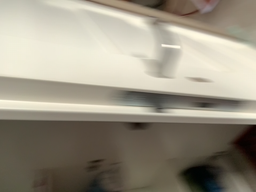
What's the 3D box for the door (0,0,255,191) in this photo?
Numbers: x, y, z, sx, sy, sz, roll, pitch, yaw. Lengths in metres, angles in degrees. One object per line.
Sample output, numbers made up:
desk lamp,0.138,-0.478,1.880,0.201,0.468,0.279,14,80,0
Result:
door,-0.130,-0.120,0.490,0.770,2.260,0.130,40,122,58
